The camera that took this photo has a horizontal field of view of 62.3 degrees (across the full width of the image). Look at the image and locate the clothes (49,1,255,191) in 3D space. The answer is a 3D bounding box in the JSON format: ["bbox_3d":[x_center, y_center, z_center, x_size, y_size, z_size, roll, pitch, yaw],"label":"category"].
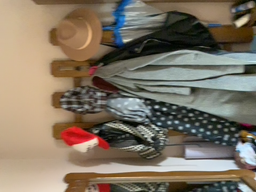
[{"bbox_3d":[0.200,0.030,1.360,0.220,1.250,1.140,-100,10,-80],"label":"clothes"}]
